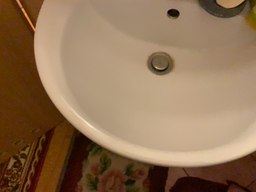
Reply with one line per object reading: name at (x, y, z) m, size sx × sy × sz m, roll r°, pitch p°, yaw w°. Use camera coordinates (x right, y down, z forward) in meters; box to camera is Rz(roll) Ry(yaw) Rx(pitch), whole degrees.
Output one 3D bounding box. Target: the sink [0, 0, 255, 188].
sink at (0.070, -0.080, 0.440) m, size 0.500 × 0.160 × 0.420 m, roll 11°, pitch 67°, yaw 3°
